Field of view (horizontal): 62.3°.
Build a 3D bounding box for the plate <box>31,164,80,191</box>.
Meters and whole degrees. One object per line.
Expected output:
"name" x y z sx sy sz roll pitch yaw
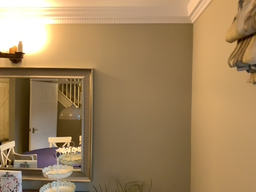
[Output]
"plate" -0.530 0.650 1.590 0.290 0.190 0.240 1 2 0
